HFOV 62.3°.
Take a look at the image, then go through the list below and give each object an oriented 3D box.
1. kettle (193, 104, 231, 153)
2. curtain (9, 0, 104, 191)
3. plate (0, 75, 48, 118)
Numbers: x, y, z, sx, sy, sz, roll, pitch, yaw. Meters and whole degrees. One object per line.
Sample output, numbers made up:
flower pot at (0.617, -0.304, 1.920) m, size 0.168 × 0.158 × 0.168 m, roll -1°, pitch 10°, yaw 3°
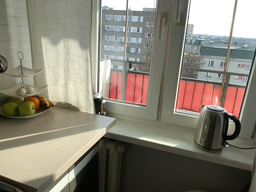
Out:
kettle at (0.460, 0.170, 1.160) m, size 0.150 × 0.190 × 0.150 m, roll 12°, pitch 19°, yaw 24°
curtain at (-0.390, -0.280, 1.170) m, size 0.490 × 2.430 × 0.130 m, roll 10°, pitch 18°, yaw 17°
plate at (-0.600, -0.010, 1.160) m, size 0.170 × 0.150 × 0.260 m, roll 9°, pitch 18°, yaw 17°
